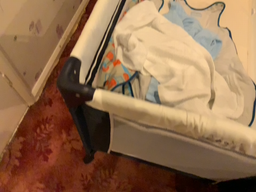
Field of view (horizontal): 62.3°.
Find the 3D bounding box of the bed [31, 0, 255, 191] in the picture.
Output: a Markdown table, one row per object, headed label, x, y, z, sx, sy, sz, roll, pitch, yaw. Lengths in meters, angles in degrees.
| label | x | y | z | sx | sy | sz | roll | pitch | yaw |
| --- | --- | --- | --- | --- | --- | --- | --- | --- | --- |
| bed | 0.280 | -0.230 | 0.960 | 0.750 | 0.730 | 1.090 | 16 | 64 | 2 |
